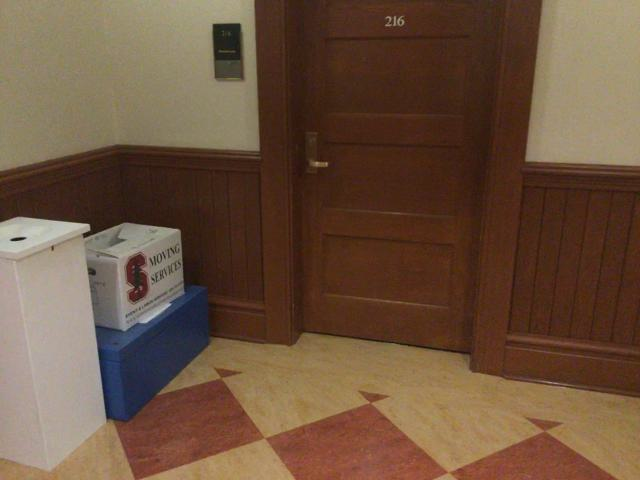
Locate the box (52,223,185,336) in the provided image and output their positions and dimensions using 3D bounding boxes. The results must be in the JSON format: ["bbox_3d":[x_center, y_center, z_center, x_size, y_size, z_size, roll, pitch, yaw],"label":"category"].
[{"bbox_3d":[-0.840,0.150,2.480,0.340,0.340,0.430,5,15,14],"label":"box"}]

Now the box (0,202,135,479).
[{"bbox_3d":[-1.020,0.360,2.110,0.440,0.900,0.460,5,15,14],"label":"box"}]

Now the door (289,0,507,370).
[{"bbox_3d":[0.330,-0.450,2.620,0.860,2.000,0.300,5,15,14],"label":"door"}]

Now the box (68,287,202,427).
[{"bbox_3d":[-0.760,0.470,2.470,0.280,0.360,0.550,5,15,14],"label":"box"}]

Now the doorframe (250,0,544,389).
[{"bbox_3d":[0.280,-0.390,2.510,1.140,1.960,0.270,5,15,14],"label":"doorframe"}]
